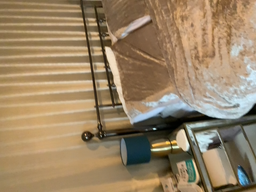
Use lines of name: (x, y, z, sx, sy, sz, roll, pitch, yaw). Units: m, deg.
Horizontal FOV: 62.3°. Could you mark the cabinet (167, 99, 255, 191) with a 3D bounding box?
cabinet: (0.680, 0.380, 1.470, 0.390, 0.570, 0.560, 115, 147, -59)
